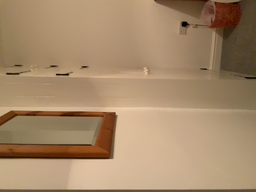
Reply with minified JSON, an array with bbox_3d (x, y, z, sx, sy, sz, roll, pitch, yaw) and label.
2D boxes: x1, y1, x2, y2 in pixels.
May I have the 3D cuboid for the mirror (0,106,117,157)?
[{"bbox_3d":[-0.370,0.140,1.020,0.560,0.630,0.040,-103,14,-78],"label":"mirror"}]

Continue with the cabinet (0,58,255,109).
[{"bbox_3d":[-0.170,-0.170,1.970,1.080,2.460,0.230,-96,8,-77],"label":"cabinet"}]

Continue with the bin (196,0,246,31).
[{"bbox_3d":[0.950,-0.840,2.220,0.360,0.330,0.280,-100,12,-76],"label":"bin"}]
